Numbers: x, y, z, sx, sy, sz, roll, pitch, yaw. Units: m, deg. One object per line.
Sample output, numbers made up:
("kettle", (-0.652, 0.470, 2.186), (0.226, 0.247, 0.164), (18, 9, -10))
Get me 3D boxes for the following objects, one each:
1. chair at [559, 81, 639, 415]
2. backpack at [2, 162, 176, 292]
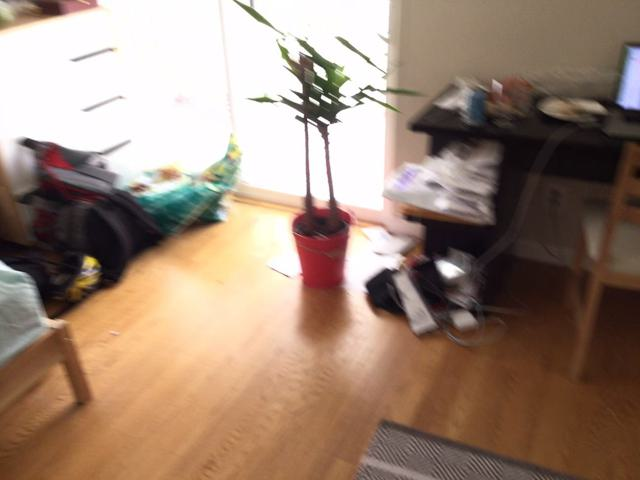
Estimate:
("chair", (1.030, 0.020, 1.770), (0.420, 0.860, 0.560), (8, 31, 20))
("backpack", (-1.030, -0.080, 2.650), (0.470, 0.360, 0.490), (8, 31, 20))
